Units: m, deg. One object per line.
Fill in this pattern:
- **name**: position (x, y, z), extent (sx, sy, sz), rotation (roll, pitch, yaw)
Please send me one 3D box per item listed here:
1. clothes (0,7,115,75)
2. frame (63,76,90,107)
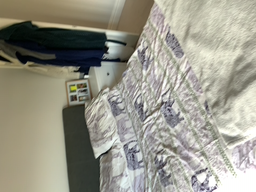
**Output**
- **clothes**: position (-0.950, -0.610, 2.570), extent (0.680, 1.410, 0.300), rotation (120, 142, -49)
- **frame**: position (-0.700, -0.060, 2.900), extent (0.140, 0.320, 0.370), rotation (121, 151, -52)
